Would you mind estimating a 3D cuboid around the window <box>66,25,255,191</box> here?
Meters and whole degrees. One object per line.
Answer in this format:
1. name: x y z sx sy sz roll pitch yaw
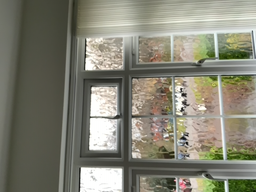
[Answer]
1. window: 0.260 0.280 1.420 0.050 1.340 1.530 55 -146 -79
